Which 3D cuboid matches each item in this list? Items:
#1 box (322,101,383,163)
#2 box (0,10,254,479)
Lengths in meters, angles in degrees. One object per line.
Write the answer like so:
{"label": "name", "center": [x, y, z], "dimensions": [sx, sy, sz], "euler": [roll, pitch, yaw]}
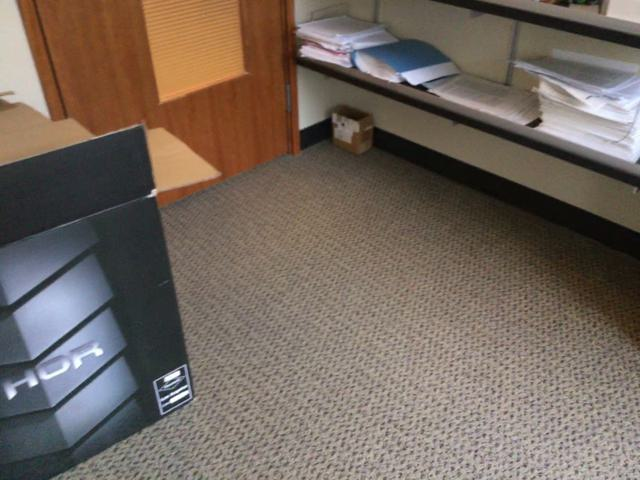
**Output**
{"label": "box", "center": [0.140, -0.490, 2.600], "dimensions": [0.130, 0.170, 0.250], "euler": [-26, 44, -32]}
{"label": "box", "center": [-0.820, 0.040, 1.380], "dimensions": [0.980, 0.810, 0.830], "euler": [-25, 44, -32]}
